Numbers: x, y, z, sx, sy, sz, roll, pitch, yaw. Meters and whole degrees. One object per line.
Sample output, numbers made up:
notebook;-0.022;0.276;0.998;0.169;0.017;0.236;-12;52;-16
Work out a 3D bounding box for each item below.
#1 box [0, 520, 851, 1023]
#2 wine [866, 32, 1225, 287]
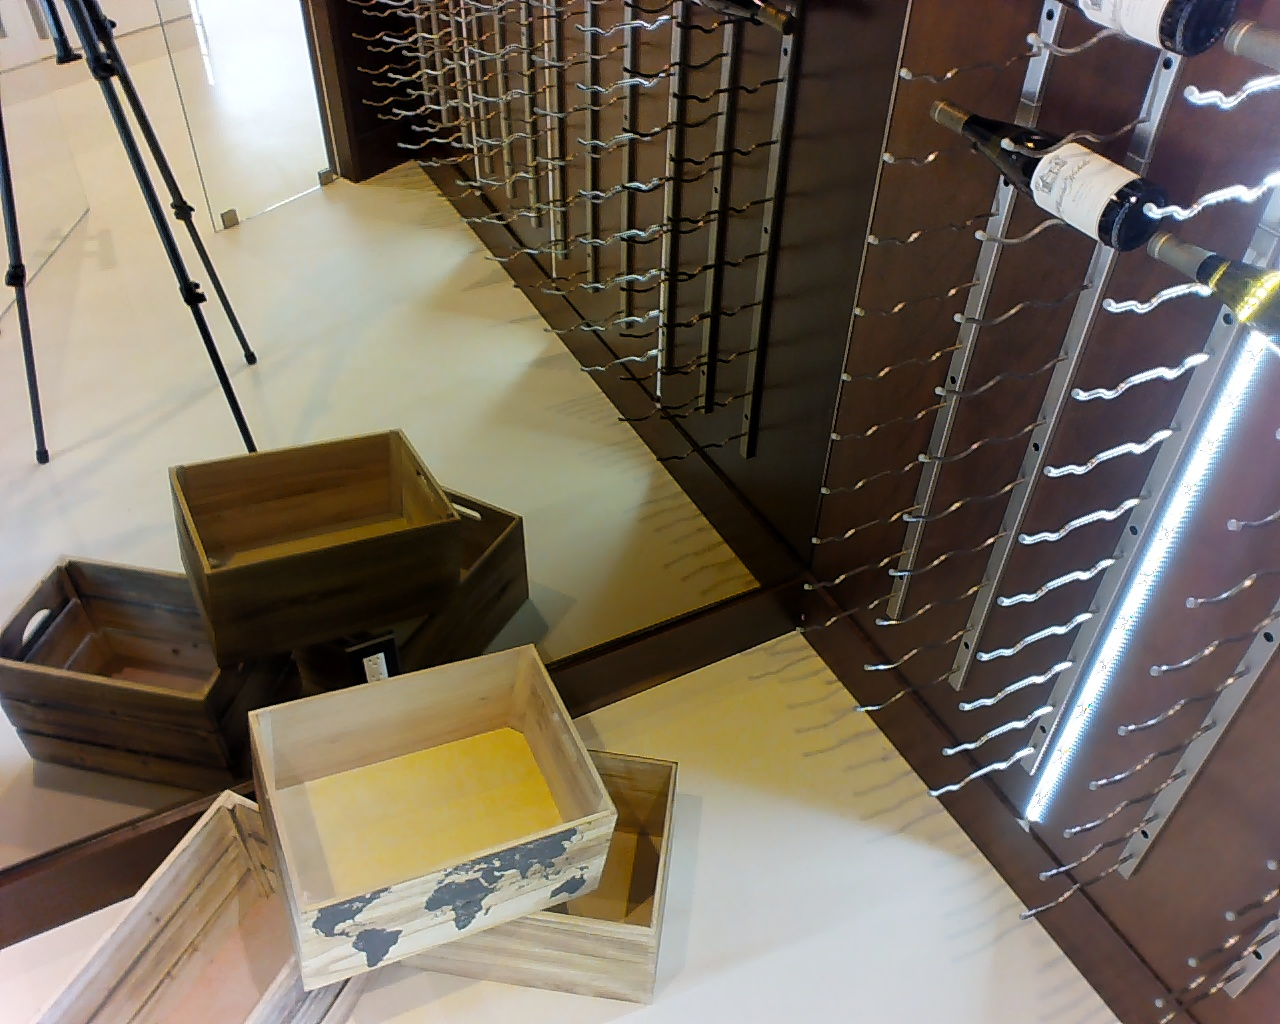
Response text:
box;-0.370;0.540;1.530;1.140;0.500;0.570;-19;46;-20
wine;0.450;-0.430;1.260;0.120;0.110;0.440;-17;46;-19
